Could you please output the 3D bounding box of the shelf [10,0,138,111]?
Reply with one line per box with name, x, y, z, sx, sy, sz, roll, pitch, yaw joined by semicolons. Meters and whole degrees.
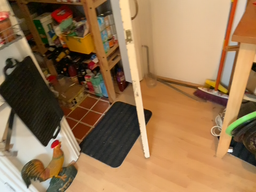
shelf;-0.500;-0.750;1.770;0.880;1.700;0.440;19;49;29
